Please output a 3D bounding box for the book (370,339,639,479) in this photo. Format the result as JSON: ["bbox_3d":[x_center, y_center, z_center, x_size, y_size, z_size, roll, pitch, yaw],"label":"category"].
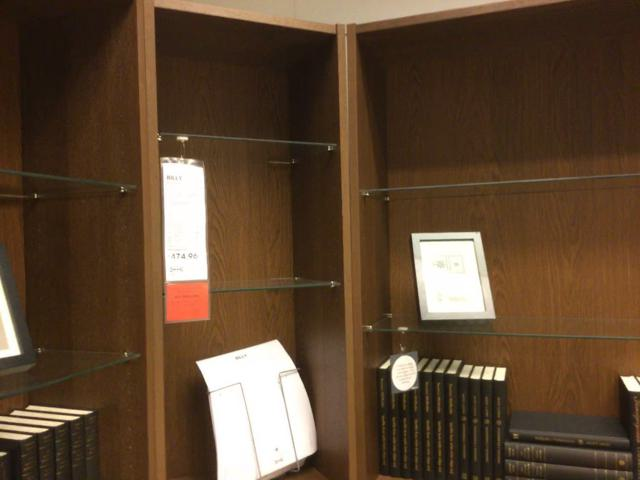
[{"bbox_3d":[0.490,0.360,1.140,0.740,0.270,0.220,-2,1,20],"label":"book"}]

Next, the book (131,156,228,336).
[{"bbox_3d":[-0.250,0.010,1.040,0.090,0.300,0.130,-2,1,33],"label":"book"}]

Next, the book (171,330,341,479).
[{"bbox_3d":[-0.150,0.370,1.260,0.310,0.280,0.260,-2,1,-19],"label":"book"}]
